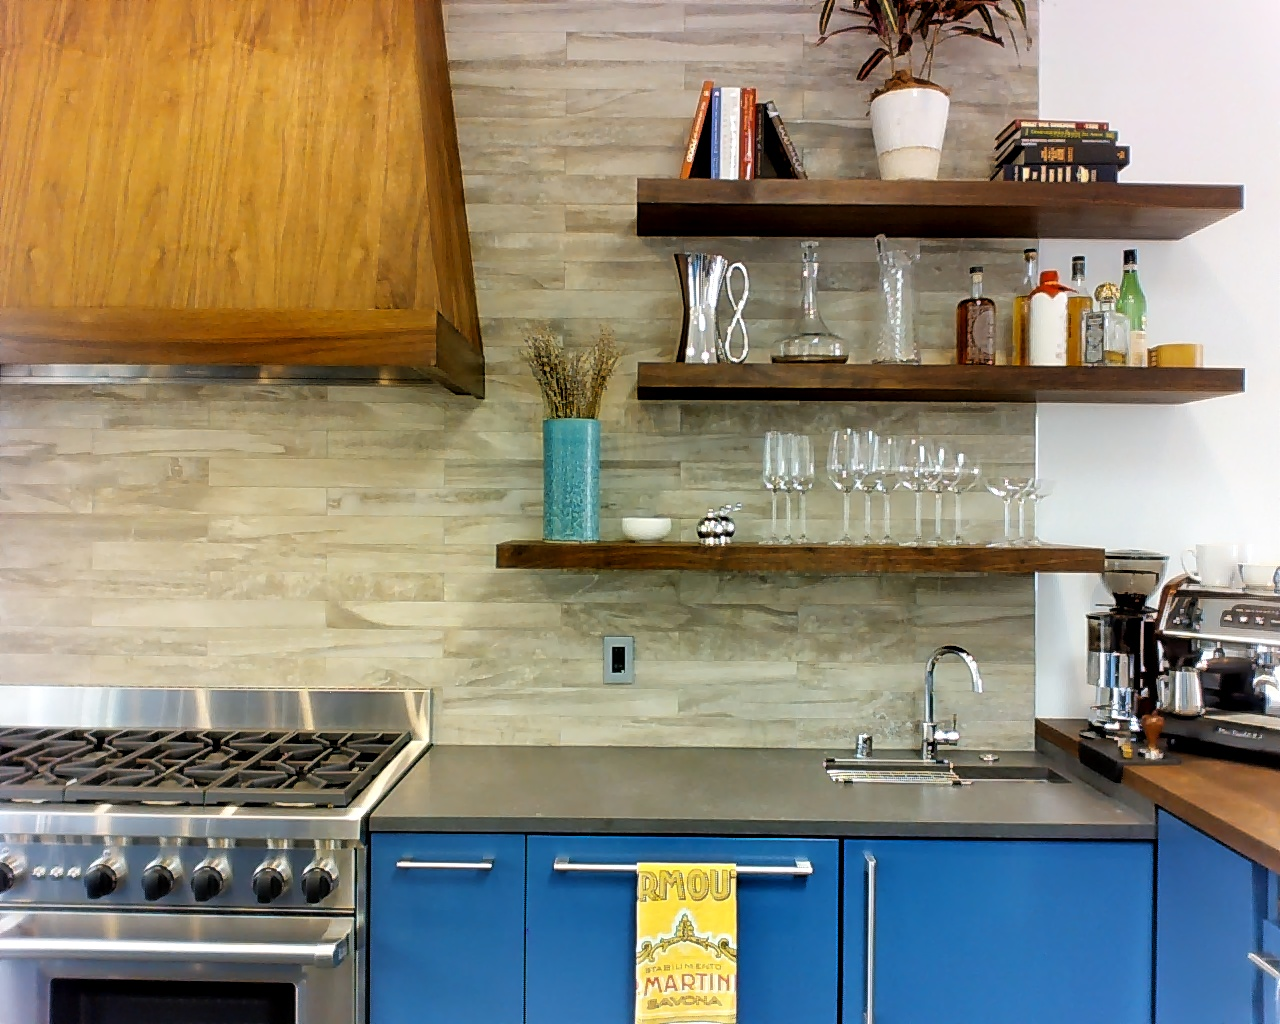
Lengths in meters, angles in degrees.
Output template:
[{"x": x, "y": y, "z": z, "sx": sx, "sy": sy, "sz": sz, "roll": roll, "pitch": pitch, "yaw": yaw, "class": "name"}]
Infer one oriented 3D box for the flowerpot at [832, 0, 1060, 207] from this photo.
[{"x": 0.710, "y": -1.120, "z": 2.550, "sx": 0.440, "sy": 0.690, "sz": 0.350, "roll": 1, "pitch": 0, "yaw": 1, "class": "flowerpot"}]
